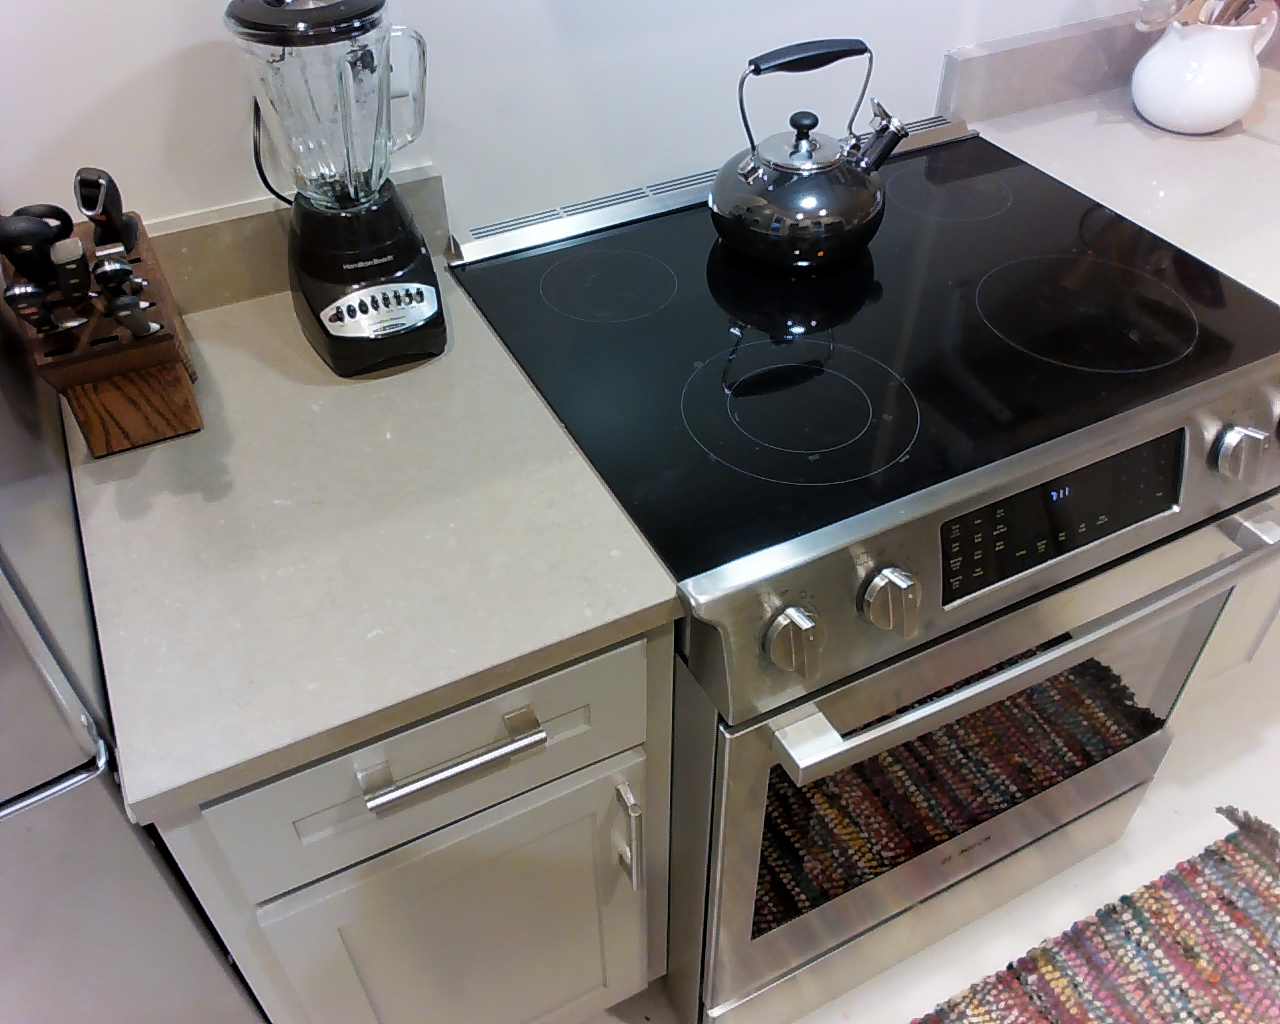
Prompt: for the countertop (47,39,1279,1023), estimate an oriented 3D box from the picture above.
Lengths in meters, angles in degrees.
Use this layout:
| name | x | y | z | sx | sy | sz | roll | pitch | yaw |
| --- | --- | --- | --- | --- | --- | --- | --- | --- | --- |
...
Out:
| name | x | y | z | sx | sy | sz | roll | pitch | yaw |
| --- | --- | --- | --- | --- | --- | --- | --- | --- | --- |
| countertop | 0.490 | 0.010 | 1.610 | 2.190 | 0.920 | 0.680 | -19 | 46 | -19 |
